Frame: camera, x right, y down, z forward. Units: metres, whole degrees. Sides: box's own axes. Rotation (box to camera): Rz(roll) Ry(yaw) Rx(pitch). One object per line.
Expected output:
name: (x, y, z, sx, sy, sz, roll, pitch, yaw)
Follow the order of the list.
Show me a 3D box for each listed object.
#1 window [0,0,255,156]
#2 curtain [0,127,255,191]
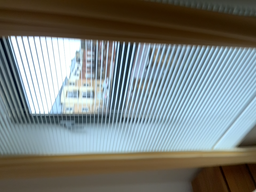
window: (-0.020, 0.030, 1.210, 1.000, 1.540, 0.160, 103, 165, -48)
curtain: (0.070, 0.480, 1.600, 0.580, 2.460, 0.250, 107, 162, -55)
